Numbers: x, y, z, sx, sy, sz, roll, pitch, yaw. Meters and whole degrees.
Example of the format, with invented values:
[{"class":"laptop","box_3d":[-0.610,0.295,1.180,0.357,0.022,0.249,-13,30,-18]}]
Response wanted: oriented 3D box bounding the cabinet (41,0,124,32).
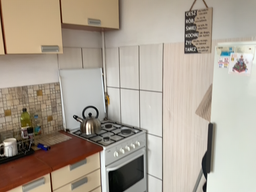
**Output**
[{"class":"cabinet","box_3d":[-0.370,-0.780,1.840,0.320,0.360,0.630,9,14,42]}]
